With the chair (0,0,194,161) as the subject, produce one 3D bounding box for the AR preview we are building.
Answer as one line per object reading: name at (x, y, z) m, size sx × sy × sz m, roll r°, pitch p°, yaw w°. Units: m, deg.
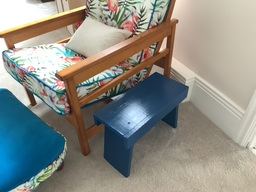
chair at (-0.170, -0.350, 1.210) m, size 0.900 × 0.880 × 0.620 m, roll -32°, pitch 49°, yaw -33°
